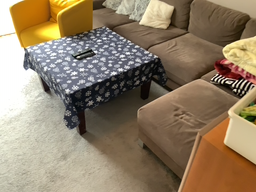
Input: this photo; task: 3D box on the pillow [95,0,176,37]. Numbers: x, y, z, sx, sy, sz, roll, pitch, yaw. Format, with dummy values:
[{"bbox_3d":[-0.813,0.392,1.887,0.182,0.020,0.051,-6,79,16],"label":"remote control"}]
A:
[{"bbox_3d":[0.040,-1.220,2.920,0.310,0.320,1.260,-28,49,-32],"label":"pillow"}]
